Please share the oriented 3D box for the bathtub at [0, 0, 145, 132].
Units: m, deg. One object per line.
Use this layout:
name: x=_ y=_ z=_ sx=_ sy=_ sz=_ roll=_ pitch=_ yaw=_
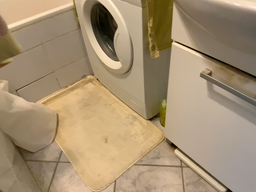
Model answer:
bathtub: x=-0.640 y=-0.410 z=1.530 sx=1.390 sy=0.560 sz=0.710 roll=-32 pitch=50 yaw=-24
